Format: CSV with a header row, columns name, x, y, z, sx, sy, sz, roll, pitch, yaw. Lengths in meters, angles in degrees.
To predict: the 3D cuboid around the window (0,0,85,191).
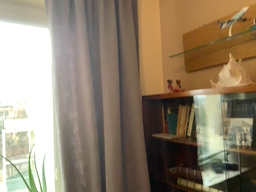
name,x,y,z,sx,sy,sz,roll,pitch,yaw
window,-0.860,0.140,1.150,1.220,1.810,0.170,-1,-3,-33
